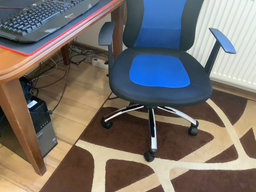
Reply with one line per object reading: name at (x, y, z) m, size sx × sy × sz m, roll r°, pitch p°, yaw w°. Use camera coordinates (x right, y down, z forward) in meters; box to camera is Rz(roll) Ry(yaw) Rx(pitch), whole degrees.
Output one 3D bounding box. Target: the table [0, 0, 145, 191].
table at (-0.450, -0.250, 1.300) m, size 0.690 × 0.710 × 1.240 m, roll 19°, pitch 45°, yaw 14°
